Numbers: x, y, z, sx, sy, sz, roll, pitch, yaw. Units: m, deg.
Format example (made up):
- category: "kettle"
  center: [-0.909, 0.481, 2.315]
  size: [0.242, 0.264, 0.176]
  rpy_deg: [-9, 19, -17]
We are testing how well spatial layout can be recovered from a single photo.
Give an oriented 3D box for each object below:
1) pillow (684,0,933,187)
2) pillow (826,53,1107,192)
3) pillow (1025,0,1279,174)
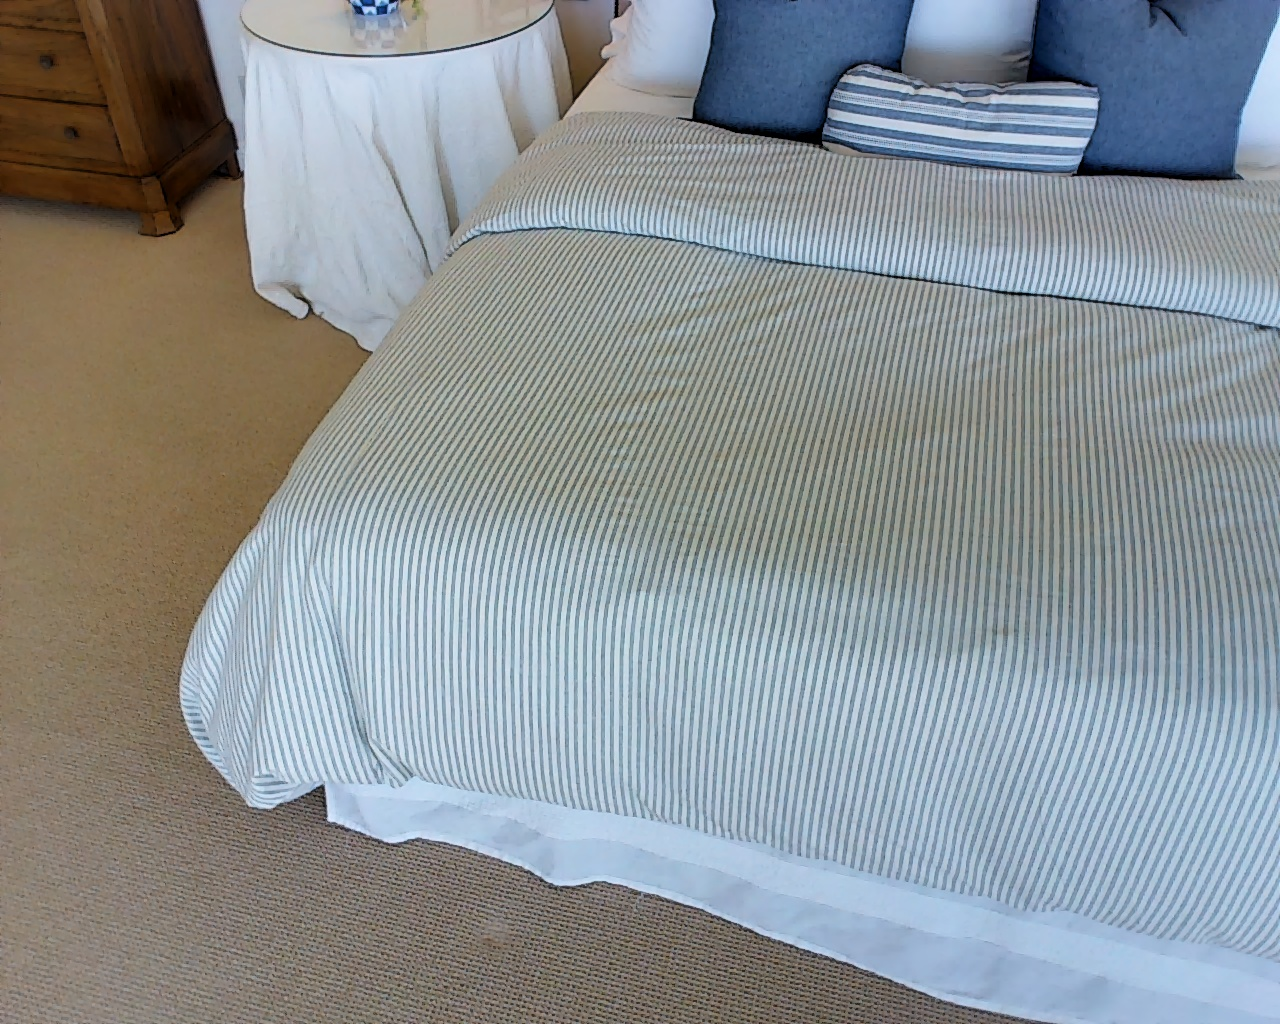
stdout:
- category: "pillow"
  center: [0.340, -0.940, 2.140]
  size: [0.440, 0.440, 0.270]
  rpy_deg: [10, 43, 11]
- category: "pillow"
  center: [0.600, -0.730, 2.010]
  size: [0.470, 0.160, 0.130]
  rpy_deg: [10, 43, 11]
- category: "pillow"
  center: [0.980, -0.920, 1.990]
  size: [0.410, 0.360, 0.320]
  rpy_deg: [-18, 34, 11]
